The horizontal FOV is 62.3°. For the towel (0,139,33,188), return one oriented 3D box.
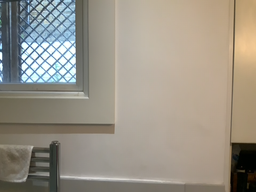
[{"bbox_3d":[-0.560,0.280,0.900,0.280,0.170,0.090,1,2,5],"label":"towel"}]
